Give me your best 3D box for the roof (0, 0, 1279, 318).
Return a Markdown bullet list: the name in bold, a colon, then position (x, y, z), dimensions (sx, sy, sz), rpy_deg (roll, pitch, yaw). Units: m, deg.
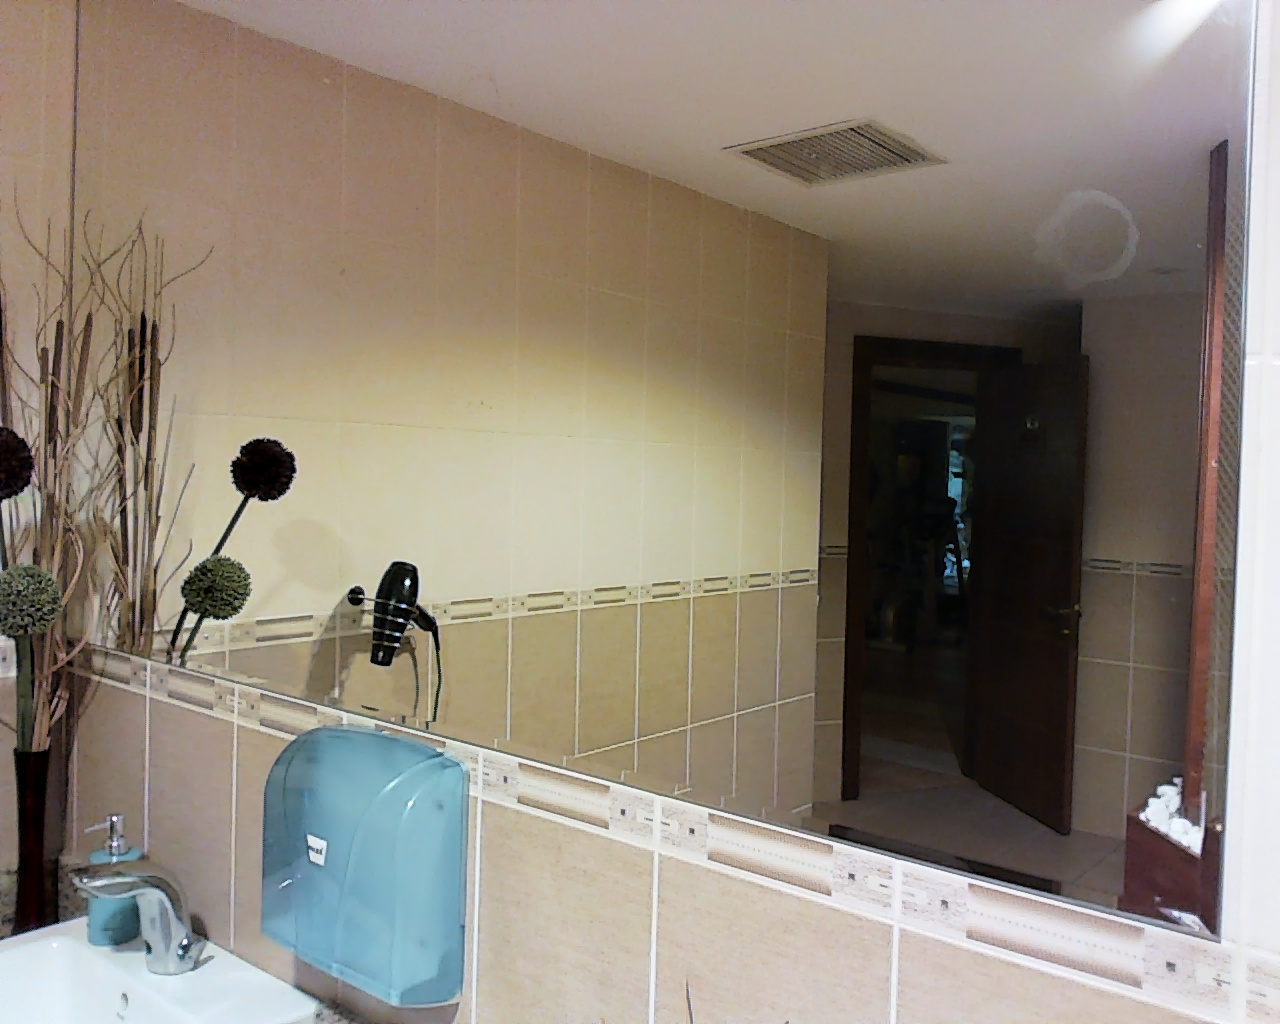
- **roof**: position (0.440, -0.840, 1.120), dimensions (3.390, 0.100, 6.359), rpy_deg (2, 1, 38)
